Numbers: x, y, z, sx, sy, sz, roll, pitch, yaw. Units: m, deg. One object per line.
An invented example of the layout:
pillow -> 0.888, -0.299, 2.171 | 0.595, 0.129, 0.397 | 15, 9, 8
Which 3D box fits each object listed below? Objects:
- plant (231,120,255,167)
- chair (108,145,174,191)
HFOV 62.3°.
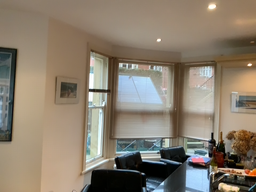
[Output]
plant -> 1.610, 0.630, 2.900 | 0.290, 0.540, 0.340 | 3, 0, 36
chair -> 0.180, 1.220, 2.820 | 0.540, 0.920, 0.710 | 2, 0, 41
